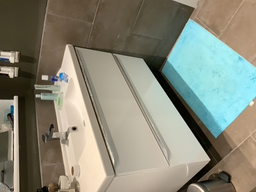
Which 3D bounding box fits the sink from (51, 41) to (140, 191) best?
[{"bbox_3d":[-0.290,0.140,1.340,0.450,0.190,1.020,-62,39,36],"label":"sink"}]
